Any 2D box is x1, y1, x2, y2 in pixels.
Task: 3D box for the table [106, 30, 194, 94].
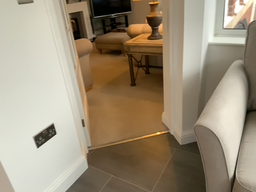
[{"bbox_3d":[0.330,-0.530,2.940,0.930,0.600,0.740,10,31,29],"label":"table"}]
